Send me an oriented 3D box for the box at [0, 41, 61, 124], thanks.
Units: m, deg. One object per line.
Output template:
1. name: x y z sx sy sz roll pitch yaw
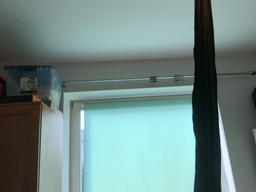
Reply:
1. box: -0.820 -0.070 1.760 0.370 0.490 0.630 -3 -17 -5
